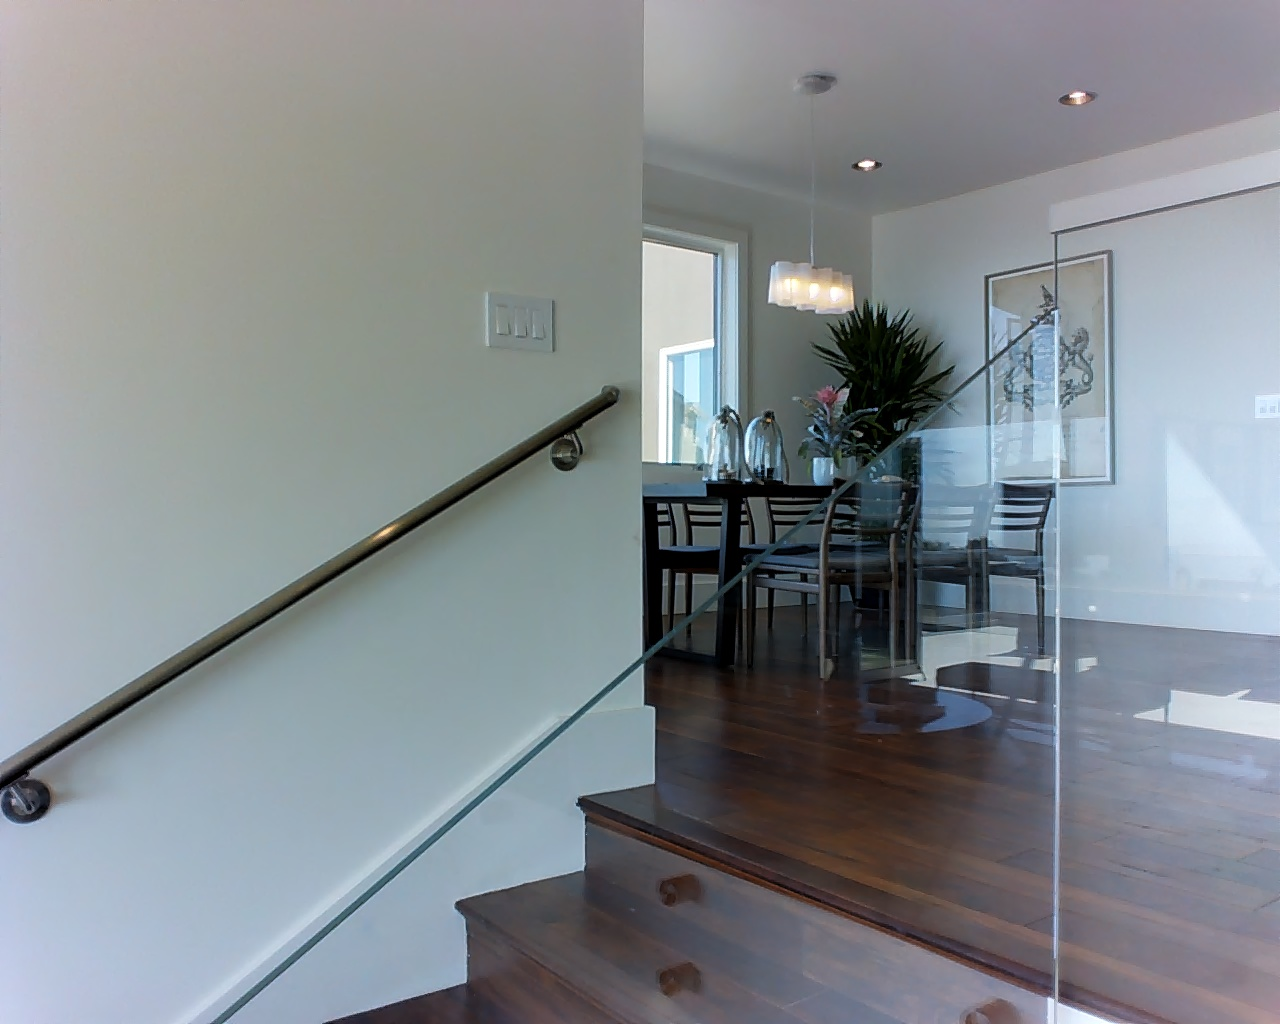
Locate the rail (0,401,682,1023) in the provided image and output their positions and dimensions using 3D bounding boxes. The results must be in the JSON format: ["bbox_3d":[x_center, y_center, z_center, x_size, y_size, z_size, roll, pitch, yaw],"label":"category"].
[{"bbox_3d":[-0.530,0.590,2.140,1.460,1.540,0.140,-1,1,-37],"label":"rail"}]
